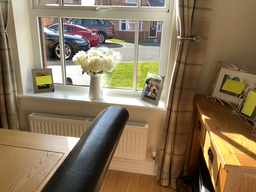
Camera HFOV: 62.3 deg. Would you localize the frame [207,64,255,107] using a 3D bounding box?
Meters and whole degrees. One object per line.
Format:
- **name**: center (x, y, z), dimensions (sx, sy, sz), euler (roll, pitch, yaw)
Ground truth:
- **frame**: center (0.710, -0.080, 1.420), dimensions (0.260, 0.210, 0.270), euler (4, 20, 7)
